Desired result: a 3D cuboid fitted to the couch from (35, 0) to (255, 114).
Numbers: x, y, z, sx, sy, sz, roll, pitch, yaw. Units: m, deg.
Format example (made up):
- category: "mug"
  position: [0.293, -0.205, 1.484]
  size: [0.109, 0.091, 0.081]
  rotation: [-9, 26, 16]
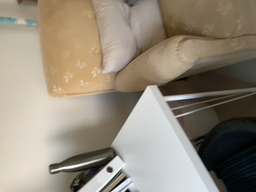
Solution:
- category: "couch"
  position: [0.080, -0.390, 1.130]
  size: [0.950, 0.910, 0.750]
  rotation: [-23, 75, 59]
